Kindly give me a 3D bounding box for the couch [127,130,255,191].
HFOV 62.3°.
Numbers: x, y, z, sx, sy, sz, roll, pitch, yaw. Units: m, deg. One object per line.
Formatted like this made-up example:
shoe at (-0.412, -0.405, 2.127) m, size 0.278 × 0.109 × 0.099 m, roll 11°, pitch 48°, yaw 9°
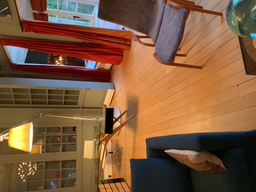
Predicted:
couch at (0.540, 0.870, 1.700) m, size 0.950 × 0.780 × 1.080 m, roll 142°, pitch 128°, yaw -66°
